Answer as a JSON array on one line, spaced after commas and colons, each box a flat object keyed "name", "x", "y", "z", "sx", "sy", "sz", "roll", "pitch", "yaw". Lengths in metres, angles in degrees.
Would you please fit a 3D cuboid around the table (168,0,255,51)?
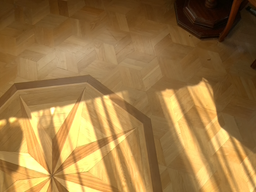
[{"name": "table", "x": 0.580, "y": -0.650, "z": 1.140, "sx": 0.560, "sy": 0.530, "sz": 0.460, "roll": -16, "pitch": 71, "yaw": -4}]
